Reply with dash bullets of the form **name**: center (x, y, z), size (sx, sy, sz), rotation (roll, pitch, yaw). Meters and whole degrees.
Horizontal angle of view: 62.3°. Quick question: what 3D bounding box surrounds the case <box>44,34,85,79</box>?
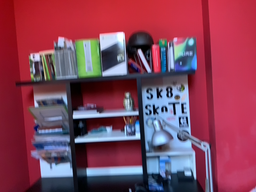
- **case**: center (-0.530, -0.320, 1.820), size (0.230, 0.330, 0.290), rotation (-4, 3, 4)

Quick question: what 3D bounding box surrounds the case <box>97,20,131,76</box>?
- **case**: center (-0.100, -0.370, 1.760), size (0.210, 0.380, 0.400), rotation (-4, 3, 4)

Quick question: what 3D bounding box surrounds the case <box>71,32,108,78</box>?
- **case**: center (-0.310, -0.320, 1.780), size (0.200, 0.320, 0.360), rotation (-4, 3, 4)
